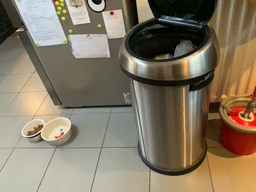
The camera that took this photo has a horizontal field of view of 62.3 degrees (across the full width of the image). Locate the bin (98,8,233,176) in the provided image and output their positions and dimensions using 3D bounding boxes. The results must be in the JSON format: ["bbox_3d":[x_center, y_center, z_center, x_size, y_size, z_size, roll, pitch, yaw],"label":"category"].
[{"bbox_3d":[0.180,0.010,1.020,0.410,0.670,0.410,-1,41,12],"label":"bin"}]
